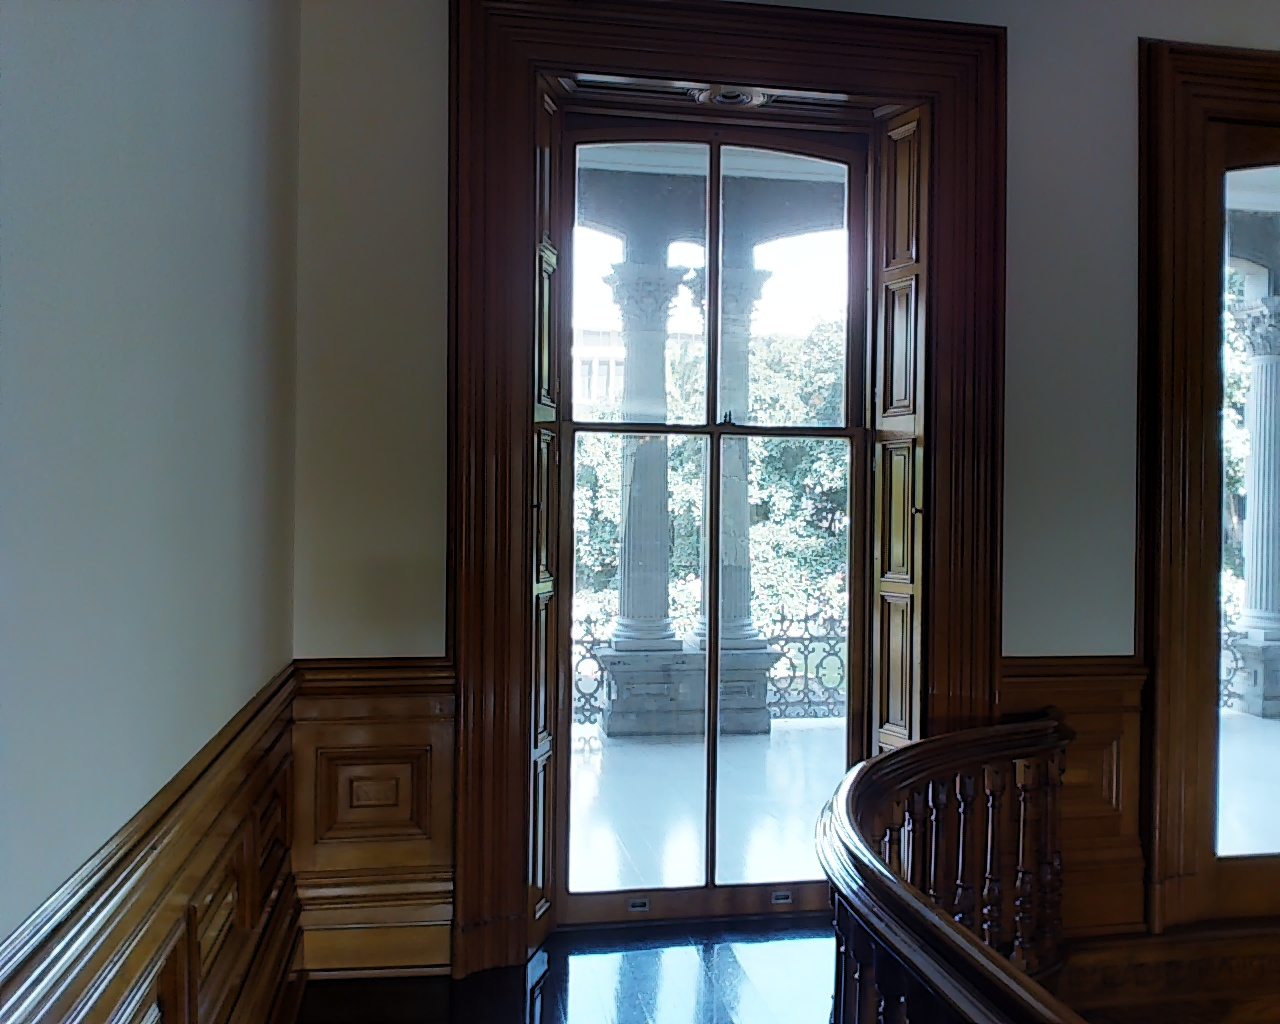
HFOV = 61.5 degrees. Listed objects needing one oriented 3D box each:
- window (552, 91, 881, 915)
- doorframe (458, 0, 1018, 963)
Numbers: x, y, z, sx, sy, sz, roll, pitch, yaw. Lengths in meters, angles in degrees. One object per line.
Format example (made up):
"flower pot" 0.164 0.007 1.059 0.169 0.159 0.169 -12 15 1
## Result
"window" 0.300 -0.020 4.190 1.230 3.070 0.160 1 1 -10
"doorframe" 0.340 -0.170 3.990 1.960 3.390 0.470 1 1 -10
